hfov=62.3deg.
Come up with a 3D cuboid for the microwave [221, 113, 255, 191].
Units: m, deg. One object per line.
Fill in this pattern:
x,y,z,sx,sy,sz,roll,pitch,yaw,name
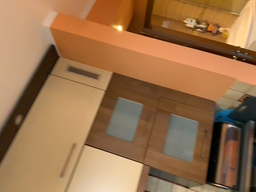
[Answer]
0.830,0.420,1.390,0.320,0.250,0.490,95,-167,-65,microwave
